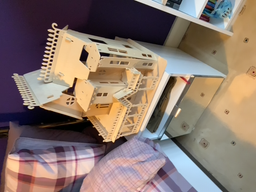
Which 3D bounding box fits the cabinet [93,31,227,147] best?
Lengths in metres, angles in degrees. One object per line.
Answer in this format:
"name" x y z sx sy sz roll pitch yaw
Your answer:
"cabinet" 0.170 -0.050 1.210 0.380 0.510 0.430 46 124 37
